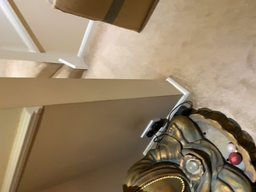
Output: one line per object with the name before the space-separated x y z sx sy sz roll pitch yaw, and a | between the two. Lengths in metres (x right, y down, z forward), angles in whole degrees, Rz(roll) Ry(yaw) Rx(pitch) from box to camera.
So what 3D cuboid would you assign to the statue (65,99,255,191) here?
statue | 0.230 0.420 1.000 0.530 0.780 0.560 47 122 30
